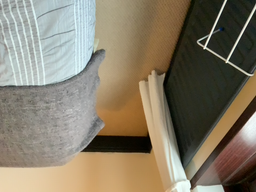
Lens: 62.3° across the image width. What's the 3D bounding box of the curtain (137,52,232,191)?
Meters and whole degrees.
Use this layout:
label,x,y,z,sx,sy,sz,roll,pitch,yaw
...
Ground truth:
label,x,y,z,sx,sy,sz,roll,pitch,yaw
curtain,0.280,0.790,0.660,0.190,2.460,0.450,3,137,-9
